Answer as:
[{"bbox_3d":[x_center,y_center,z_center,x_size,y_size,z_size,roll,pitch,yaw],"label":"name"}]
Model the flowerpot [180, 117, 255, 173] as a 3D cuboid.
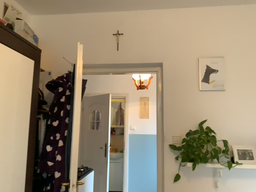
[{"bbox_3d":[0.720,0.390,1.770,0.540,0.410,0.220,0,-8,10],"label":"flowerpot"}]
